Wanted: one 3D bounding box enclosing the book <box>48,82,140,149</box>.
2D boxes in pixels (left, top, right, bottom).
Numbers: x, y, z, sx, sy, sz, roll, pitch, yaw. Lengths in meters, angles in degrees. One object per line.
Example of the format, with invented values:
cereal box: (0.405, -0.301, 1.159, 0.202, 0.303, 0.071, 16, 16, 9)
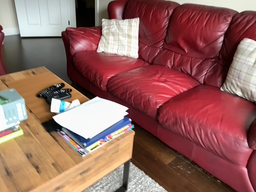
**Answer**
book: (-0.180, 0.070, 1.080, 0.300, 0.070, 0.380, -21, 39, -36)
